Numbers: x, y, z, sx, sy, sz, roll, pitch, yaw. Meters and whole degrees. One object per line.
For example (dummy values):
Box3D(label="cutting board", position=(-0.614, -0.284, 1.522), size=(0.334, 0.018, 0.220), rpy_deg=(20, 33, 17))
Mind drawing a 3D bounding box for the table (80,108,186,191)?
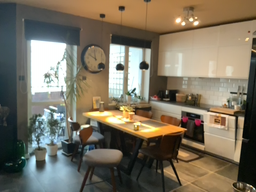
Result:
Box3D(label="table", position=(-0.050, 0.760, 3.700), size=(0.820, 0.760, 1.900), rpy_deg=(-2, 7, -37))

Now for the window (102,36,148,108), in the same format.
Box3D(label="window", position=(-0.060, -0.550, 5.210), size=(1.180, 1.620, 0.140), rpy_deg=(-2, 7, -33))
